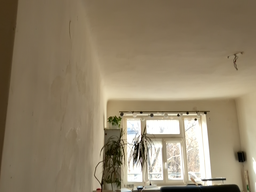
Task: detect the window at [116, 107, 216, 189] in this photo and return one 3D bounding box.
[{"bbox_3d":[0.820,1.150,4.870,2.180,1.750,0.260,0,-11,-2],"label":"window"}]
